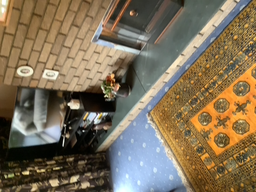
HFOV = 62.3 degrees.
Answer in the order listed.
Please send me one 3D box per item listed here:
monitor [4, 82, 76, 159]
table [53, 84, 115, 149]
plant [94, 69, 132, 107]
[{"bbox_3d":[-0.980,0.300,2.370,0.040,0.590,0.910,41,117,46],"label":"monitor"},{"bbox_3d":[-0.590,0.290,2.680,0.860,0.400,0.350,-51,49,35],"label":"table"},{"bbox_3d":[-0.170,-0.080,2.320,0.320,0.220,0.260,-49,51,37],"label":"plant"}]
